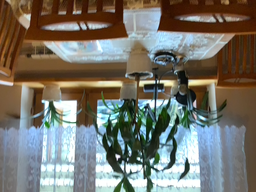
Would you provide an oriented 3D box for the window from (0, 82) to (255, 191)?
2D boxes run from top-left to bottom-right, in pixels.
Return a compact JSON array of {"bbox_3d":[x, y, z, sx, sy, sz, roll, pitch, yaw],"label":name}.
[{"bbox_3d":[-0.090,0.730,1.820,2.200,1.670,0.210,0,172,3],"label":"window"}]

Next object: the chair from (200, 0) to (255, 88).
[{"bbox_3d":[0.890,-0.600,1.640,0.440,0.970,0.660,0,172,3],"label":"chair"}]

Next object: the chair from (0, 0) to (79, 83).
[{"bbox_3d":[-0.680,-0.620,1.500,0.510,0.970,0.450,-1,172,9],"label":"chair"}]

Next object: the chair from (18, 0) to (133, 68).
[{"bbox_3d":[-0.190,-0.680,1.080,0.410,0.970,0.470,-1,172,4],"label":"chair"}]
